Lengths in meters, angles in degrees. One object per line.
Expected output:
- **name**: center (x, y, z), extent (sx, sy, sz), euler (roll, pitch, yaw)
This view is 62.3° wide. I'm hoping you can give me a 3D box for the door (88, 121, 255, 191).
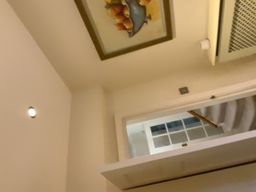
- **door**: center (0.810, 0.330, 1.320), extent (0.700, 1.960, 0.070), euler (68, -170, -52)
